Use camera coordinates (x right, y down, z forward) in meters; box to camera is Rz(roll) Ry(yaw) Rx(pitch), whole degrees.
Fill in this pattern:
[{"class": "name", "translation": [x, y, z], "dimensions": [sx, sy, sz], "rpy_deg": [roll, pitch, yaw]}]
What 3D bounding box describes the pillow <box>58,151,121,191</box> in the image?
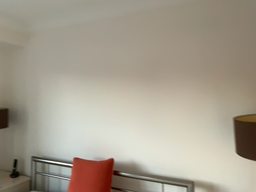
[{"class": "pillow", "translation": [-0.300, 0.700, 1.730], "dimensions": [0.400, 0.420, 0.180], "rpy_deg": [-1, 20, 24]}]
